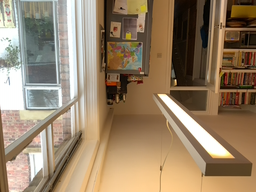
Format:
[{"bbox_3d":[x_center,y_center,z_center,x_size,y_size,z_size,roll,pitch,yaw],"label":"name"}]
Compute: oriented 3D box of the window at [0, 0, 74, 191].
[{"bbox_3d":[-0.620,-0.360,1.460,0.100,1.440,1.760,-1,-170,-3],"label":"window"}]
